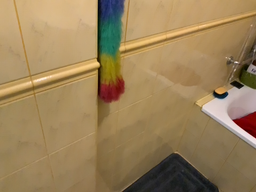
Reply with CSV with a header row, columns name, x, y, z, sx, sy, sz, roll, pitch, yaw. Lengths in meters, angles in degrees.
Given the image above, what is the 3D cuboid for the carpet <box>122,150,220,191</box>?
name,x,y,z,sx,sy,sz,roll,pitch,yaw
carpet,0.280,0.630,1.400,0.610,0.010,0.370,-23,48,-33
